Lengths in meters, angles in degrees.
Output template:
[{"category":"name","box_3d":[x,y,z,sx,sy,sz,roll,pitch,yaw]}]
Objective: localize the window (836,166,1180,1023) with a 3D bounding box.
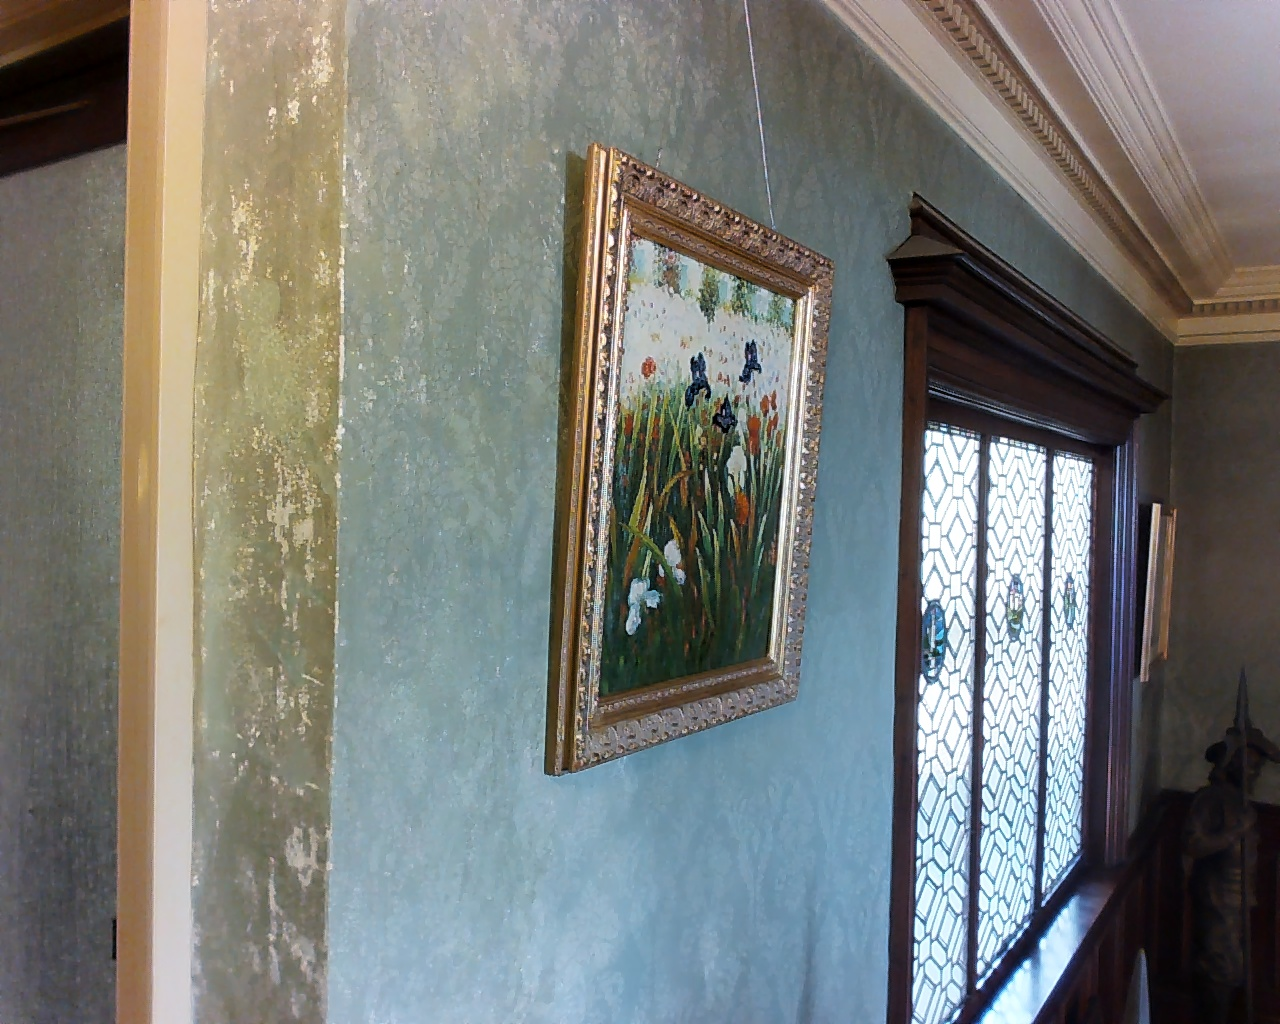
[{"category":"window","box_3d":[1.390,0.430,3.530,0.290,2.250,3.020,1,0,33]}]
